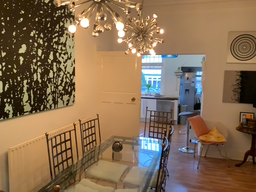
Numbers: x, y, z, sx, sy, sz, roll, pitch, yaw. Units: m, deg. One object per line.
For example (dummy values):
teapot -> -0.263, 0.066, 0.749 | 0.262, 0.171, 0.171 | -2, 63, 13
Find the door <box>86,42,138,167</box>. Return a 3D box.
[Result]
door -> -0.320, 0.150, 4.000 | 0.970, 2.250, 0.160 | 3, 6, 17
